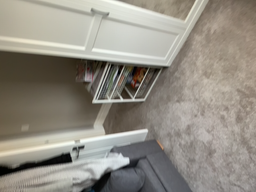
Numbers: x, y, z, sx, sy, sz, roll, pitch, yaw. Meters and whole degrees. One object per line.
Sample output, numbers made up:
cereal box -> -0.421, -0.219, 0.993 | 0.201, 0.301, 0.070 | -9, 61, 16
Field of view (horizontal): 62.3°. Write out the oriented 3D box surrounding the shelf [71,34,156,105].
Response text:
shelf -> -0.180, -0.290, 2.350 | 0.570, 0.640, 0.470 | 55, 133, 36

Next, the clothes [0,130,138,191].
clothes -> -0.680, 0.850, 1.860 | 0.370, 1.300, 0.940 | 51, 131, 38
